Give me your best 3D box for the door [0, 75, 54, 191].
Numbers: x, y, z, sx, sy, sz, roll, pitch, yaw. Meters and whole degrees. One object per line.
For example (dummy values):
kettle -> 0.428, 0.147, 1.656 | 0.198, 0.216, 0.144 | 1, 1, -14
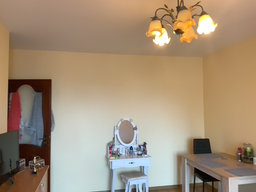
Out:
door -> -1.690, 0.740, 3.570 | 0.800, 2.160, 0.130 | 1, -2, -12

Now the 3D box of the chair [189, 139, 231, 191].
chair -> 1.380, 1.260, 3.630 | 0.480, 0.950, 0.500 | 0, -2, -6

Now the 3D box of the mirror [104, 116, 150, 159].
mirror -> -0.020, 0.730, 3.870 | 0.790, 0.710, 0.300 | 1, -2, -14
